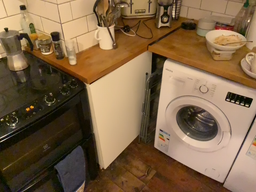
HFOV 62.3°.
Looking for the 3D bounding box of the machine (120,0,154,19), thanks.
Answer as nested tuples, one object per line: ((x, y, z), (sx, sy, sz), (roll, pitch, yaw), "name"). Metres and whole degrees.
((0.070, -0.770, 1.820), (0.270, 0.170, 0.150), (-1, 38, -1), "machine")
